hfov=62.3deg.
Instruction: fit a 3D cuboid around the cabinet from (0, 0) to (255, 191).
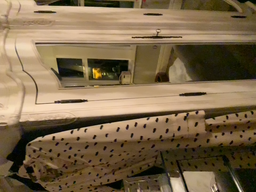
[{"bbox_3d":[-0.050,-0.660,1.840,2.540,2.270,0.700,-105,17,-44],"label":"cabinet"}]
